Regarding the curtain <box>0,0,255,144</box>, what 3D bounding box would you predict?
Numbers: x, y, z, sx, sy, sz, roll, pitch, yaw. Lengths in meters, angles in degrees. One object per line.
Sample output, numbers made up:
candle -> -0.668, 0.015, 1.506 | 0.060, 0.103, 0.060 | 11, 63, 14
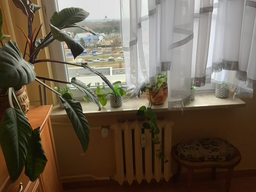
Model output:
curtain -> 0.290, -0.550, 1.360 | 2.010, 1.660, 0.360 | -2, 20, -1

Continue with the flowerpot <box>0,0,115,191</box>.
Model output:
flowerpot -> -0.510, -0.070, 0.900 | 0.850, 0.610, 0.850 | -2, 20, -1

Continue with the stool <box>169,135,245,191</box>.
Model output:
stool -> 0.630, 0.630, 1.810 | 0.490, 0.470, 0.330 | -1, 20, 2
